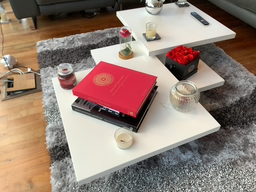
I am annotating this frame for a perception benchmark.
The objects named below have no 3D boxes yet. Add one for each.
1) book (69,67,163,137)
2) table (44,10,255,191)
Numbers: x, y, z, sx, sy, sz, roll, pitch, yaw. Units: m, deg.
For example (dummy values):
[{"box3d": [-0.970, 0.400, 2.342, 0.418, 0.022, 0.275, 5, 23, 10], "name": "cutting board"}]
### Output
[{"box3d": [-0.050, 0.010, 1.110, 0.380, 0.080, 0.310, 17, 46, 18], "name": "book"}, {"box3d": [0.170, -0.140, 1.460, 1.280, 0.280, 1.190, -15, 45, -14], "name": "table"}]
